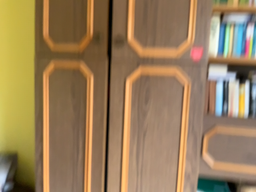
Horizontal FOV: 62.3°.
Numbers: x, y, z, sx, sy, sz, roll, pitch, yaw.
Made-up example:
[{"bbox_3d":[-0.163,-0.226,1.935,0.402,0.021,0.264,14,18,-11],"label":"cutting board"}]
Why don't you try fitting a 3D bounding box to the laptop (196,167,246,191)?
[{"bbox_3d":[0.640,0.660,1.500,0.280,0.160,0.290,5,7,15],"label":"laptop"}]
